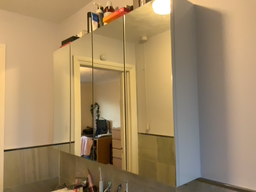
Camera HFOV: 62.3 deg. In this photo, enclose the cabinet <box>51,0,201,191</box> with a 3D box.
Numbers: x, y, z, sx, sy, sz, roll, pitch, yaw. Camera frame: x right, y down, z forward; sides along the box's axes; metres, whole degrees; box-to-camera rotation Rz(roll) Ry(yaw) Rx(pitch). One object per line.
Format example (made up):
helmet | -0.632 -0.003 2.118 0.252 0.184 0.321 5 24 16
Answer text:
cabinet | -0.160 0.000 1.380 0.170 0.830 1.240 2 -5 -43
